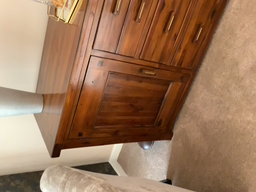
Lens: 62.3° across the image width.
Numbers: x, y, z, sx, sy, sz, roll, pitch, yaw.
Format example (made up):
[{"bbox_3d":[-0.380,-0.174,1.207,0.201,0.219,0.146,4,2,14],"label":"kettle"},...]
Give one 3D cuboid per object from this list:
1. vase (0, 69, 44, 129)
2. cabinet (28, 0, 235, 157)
[{"bbox_3d":[-0.760,0.010,1.080,0.150,0.560,0.280,41,119,47],"label":"vase"},{"bbox_3d":[0.060,-0.510,1.260,0.550,0.900,1.600,41,119,47],"label":"cabinet"}]
